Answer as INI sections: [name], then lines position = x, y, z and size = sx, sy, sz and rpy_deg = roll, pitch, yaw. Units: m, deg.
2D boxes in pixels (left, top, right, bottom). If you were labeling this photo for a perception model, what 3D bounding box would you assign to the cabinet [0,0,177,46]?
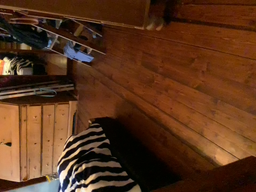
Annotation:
[cabinet]
position = -0.490, -0.830, 1.640
size = 1.090, 1.340, 0.600
rpy_deg = 31, 118, 51
